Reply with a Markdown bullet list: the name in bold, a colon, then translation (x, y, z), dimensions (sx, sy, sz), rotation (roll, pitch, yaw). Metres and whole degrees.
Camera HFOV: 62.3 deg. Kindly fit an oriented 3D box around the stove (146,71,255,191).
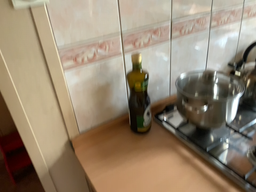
- **stove**: translation (0.470, 0.080, 0.790), dimensions (0.610, 0.010, 0.530), rotation (-21, 35, -24)
